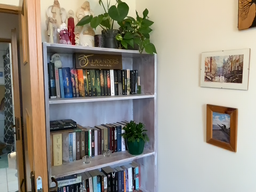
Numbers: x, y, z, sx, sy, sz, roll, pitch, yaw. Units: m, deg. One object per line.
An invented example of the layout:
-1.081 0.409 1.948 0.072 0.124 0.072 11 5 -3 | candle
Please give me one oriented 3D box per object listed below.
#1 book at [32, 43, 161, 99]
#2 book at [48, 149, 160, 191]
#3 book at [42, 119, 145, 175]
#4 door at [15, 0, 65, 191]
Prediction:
-0.220 -0.180 1.630 0.890 0.320 0.390 -3 6 -32 | book
-0.180 0.680 1.710 0.810 0.260 0.360 -3 6 -30 | book
-0.250 0.360 1.670 0.750 0.240 0.270 -3 6 -32 | book
-0.510 0.490 1.200 0.090 2.100 0.860 -3 6 -31 | door
